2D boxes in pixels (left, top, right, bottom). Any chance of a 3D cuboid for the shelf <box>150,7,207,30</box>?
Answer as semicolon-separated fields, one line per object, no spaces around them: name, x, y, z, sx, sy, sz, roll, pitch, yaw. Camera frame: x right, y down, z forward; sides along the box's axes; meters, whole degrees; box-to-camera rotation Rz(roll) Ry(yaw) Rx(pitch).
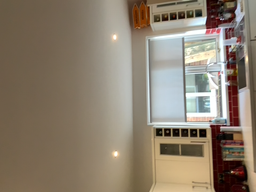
shelf;0.750;-1.160;3.200;0.250;0.800;0.170;12;-102;-75
